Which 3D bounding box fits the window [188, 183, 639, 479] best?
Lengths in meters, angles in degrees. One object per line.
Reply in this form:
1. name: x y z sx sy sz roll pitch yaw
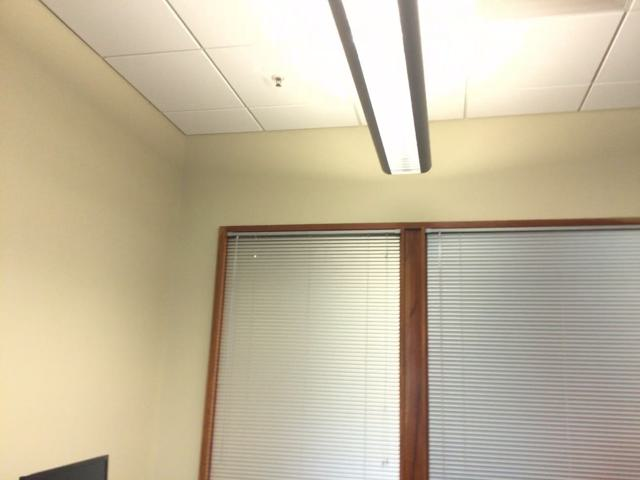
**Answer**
1. window: 0.710 0.630 2.880 2.620 1.790 0.300 2 -15 14
